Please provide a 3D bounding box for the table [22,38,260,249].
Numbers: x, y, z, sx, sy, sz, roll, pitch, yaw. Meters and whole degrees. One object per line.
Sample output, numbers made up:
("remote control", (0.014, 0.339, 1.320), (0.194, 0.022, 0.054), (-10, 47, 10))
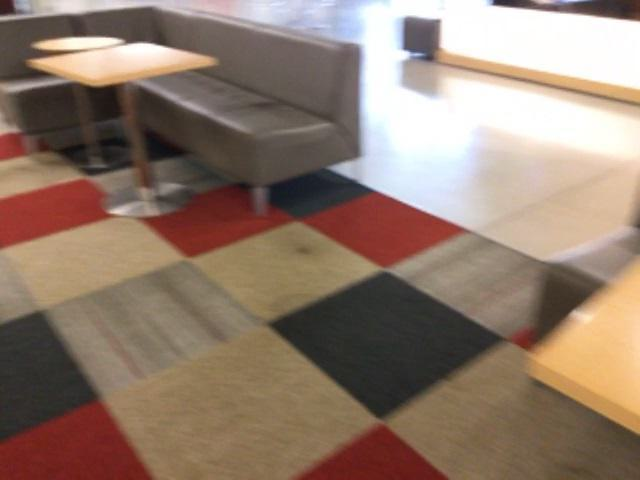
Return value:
("table", (-0.850, -0.530, 2.850), (0.730, 0.780, 0.700), (-27, 32, -37))
